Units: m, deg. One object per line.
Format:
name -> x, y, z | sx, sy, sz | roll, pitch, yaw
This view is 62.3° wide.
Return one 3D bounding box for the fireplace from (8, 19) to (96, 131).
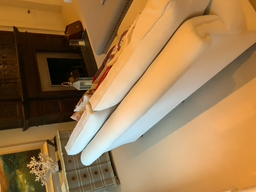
fireplace -> -1.670, -0.480, 4.470 | 0.820, 1.330, 2.060 | -50, 52, 50
